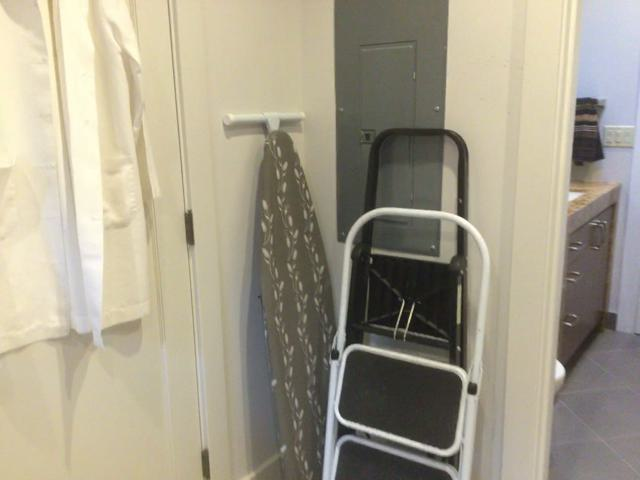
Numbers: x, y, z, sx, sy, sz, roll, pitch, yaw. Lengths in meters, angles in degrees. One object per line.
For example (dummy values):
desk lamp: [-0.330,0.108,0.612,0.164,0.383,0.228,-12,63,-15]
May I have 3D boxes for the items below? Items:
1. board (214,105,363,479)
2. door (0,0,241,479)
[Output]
board: [-0.070,0.270,1.850,0.240,1.360,0.390,9,16,36]
door: [-0.560,0.100,1.280,0.120,2.000,0.860,9,16,36]
